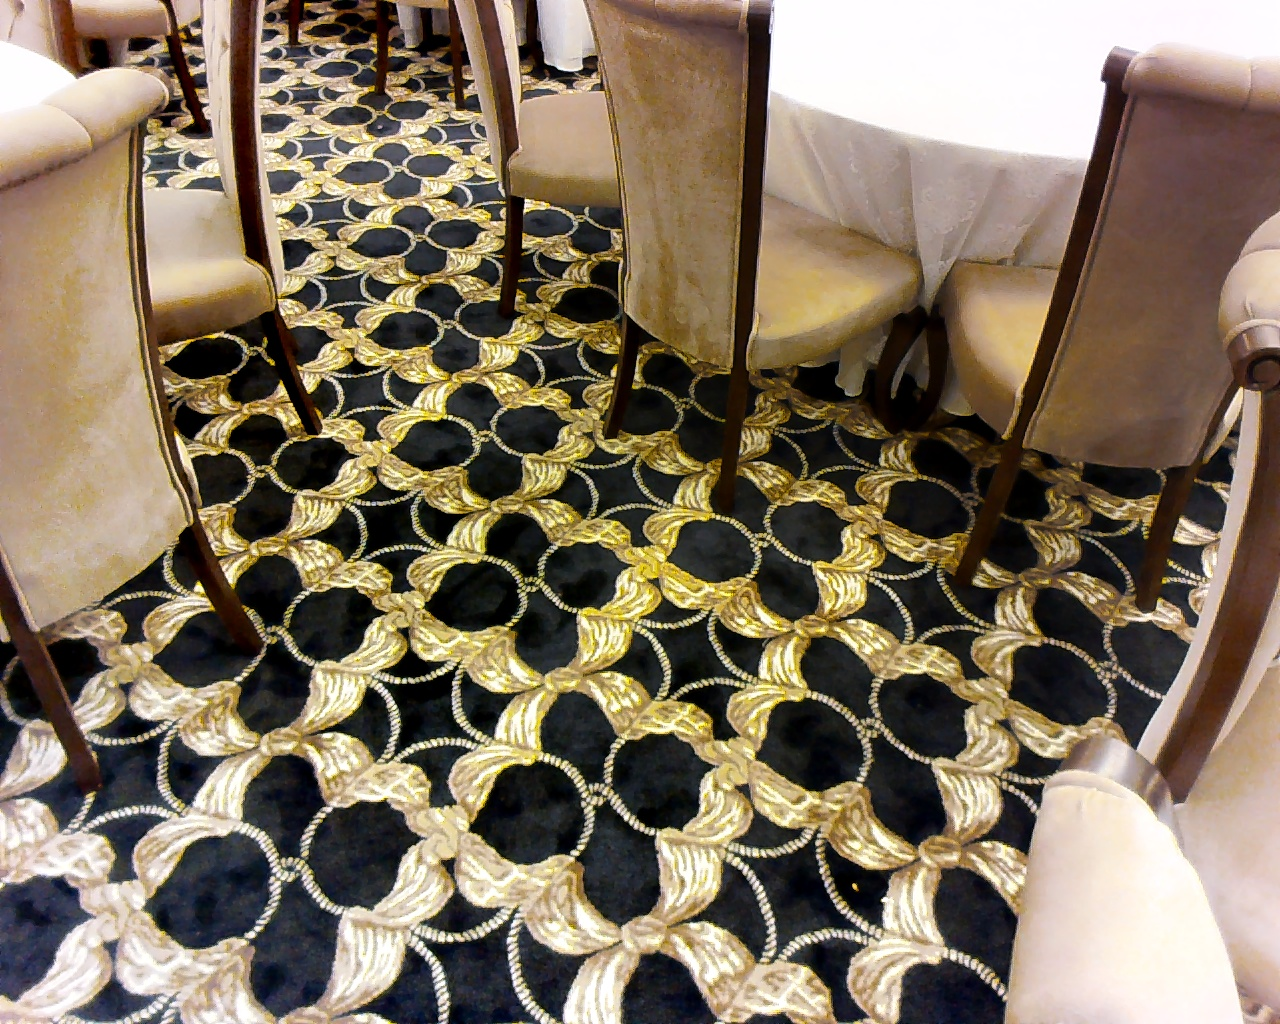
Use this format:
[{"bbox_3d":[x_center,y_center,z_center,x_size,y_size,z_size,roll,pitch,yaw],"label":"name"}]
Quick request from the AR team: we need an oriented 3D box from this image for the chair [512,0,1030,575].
[{"bbox_3d":[0.230,-0.570,2.170,0.640,1.050,0.660,30,49,28],"label":"chair"}]

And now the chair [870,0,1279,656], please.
[{"bbox_3d":[0.880,-0.370,1.960,0.690,1.080,0.660,4,42,3],"label":"chair"}]

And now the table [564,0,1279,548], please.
[{"bbox_3d":[0.930,-0.940,2.850,1.620,0.720,1.580,-28,50,-29],"label":"table"}]

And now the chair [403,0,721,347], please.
[{"bbox_3d":[-0.160,-1.080,2.760,0.690,1.120,0.570,5,42,3],"label":"chair"}]
